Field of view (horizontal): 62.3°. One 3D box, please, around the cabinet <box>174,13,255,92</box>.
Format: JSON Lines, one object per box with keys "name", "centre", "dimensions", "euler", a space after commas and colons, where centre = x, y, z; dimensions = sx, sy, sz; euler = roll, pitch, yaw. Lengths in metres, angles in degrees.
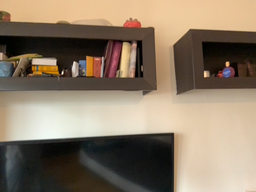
{"name": "cabinet", "centre": [0.940, -0.280, 1.590], "dimensions": [1.110, 0.460, 0.330], "euler": [0, -7, -12]}
